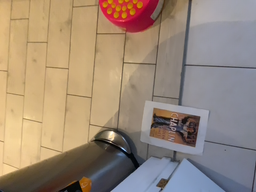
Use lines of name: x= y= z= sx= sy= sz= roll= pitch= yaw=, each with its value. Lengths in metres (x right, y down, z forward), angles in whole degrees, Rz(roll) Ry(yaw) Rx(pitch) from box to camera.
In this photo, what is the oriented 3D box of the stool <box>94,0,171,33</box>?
stool: x=0.030 y=-0.460 z=0.990 sx=0.300 sy=0.170 sz=0.280 roll=8 pitch=94 yaw=24
